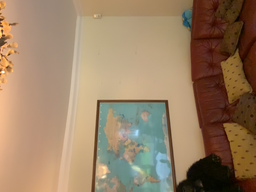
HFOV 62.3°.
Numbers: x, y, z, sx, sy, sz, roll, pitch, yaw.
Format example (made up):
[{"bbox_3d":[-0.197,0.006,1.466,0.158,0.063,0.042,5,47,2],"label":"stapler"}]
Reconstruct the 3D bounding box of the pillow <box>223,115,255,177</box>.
[{"bbox_3d":[1.200,0.510,2.190,0.100,0.330,0.590,32,-124,-45],"label":"pillow"}]

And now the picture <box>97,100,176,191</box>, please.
[{"bbox_3d":[0.090,0.740,2.640,0.040,0.910,1.490,93,176,-64],"label":"picture"}]

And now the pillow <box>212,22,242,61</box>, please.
[{"bbox_3d":[1.230,-0.690,2.670,0.350,0.140,0.430,-94,4,-67],"label":"pillow"}]

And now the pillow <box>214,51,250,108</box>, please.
[{"bbox_3d":[1.220,-0.200,2.540,0.280,0.170,0.620,94,176,-65],"label":"pillow"}]

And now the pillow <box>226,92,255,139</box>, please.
[{"bbox_3d":[1.230,0.190,2.210,0.320,0.210,0.390,-95,6,-73],"label":"pillow"}]

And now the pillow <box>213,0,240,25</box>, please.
[{"bbox_3d":[1.230,-1.090,2.670,0.340,0.140,0.360,-94,4,-68],"label":"pillow"}]
